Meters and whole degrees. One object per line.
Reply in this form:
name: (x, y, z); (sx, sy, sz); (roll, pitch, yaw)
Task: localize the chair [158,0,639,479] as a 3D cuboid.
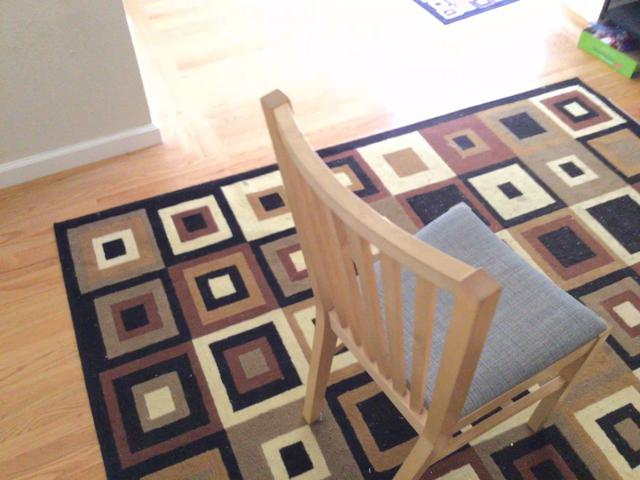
chair: (0.190, 0.140, 1.110); (0.640, 0.950, 0.480); (-26, 53, -19)
